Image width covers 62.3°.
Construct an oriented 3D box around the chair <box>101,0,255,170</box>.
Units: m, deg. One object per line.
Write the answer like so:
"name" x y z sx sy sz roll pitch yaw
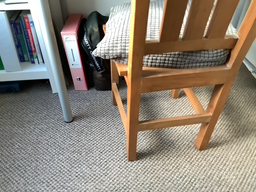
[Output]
"chair" 0.140 -0.200 0.810 0.420 0.850 0.480 -7 40 -10
